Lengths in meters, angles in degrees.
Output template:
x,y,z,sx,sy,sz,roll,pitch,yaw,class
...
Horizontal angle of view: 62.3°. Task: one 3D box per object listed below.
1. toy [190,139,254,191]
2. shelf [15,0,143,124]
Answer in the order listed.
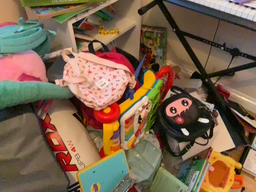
x,y,z,sx,sy,sz,roll,pitch,yaw,class
0.490,0.410,1.100,0.220,0.110,0.290,24,52,20,toy
-0.230,-0.300,1.320,0.380,0.710,0.530,30,54,24,shelf
